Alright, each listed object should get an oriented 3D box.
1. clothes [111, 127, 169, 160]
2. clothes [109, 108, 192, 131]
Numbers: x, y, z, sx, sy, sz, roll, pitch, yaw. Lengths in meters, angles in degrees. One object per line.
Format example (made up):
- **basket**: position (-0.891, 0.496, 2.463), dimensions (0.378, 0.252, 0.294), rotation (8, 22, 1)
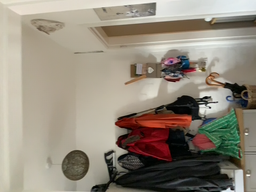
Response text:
- **clothes**: position (0.140, 0.540, 2.480), dimensions (0.240, 0.650, 0.340), rotation (36, -127, -82)
- **clothes**: position (0.260, 0.280, 2.510), dimensions (0.170, 0.940, 0.250), rotation (36, -127, -82)
